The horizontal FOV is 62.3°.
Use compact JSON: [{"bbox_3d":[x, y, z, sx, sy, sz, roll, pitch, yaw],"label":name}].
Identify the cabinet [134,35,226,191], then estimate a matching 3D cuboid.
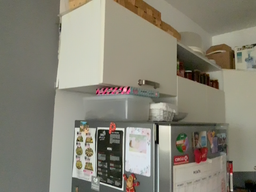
[{"bbox_3d":[0.460,0.150,1.680,0.340,0.950,0.880,-4,-7,39],"label":"cabinet"}]
